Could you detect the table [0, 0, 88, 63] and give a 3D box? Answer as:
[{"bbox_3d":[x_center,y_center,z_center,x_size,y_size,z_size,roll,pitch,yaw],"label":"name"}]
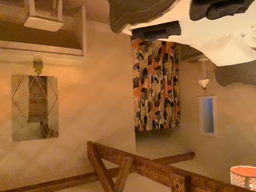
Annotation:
[{"bbox_3d":[-1.250,-0.950,3.000,1.250,0.790,0.460,-1,178,-32],"label":"table"}]
